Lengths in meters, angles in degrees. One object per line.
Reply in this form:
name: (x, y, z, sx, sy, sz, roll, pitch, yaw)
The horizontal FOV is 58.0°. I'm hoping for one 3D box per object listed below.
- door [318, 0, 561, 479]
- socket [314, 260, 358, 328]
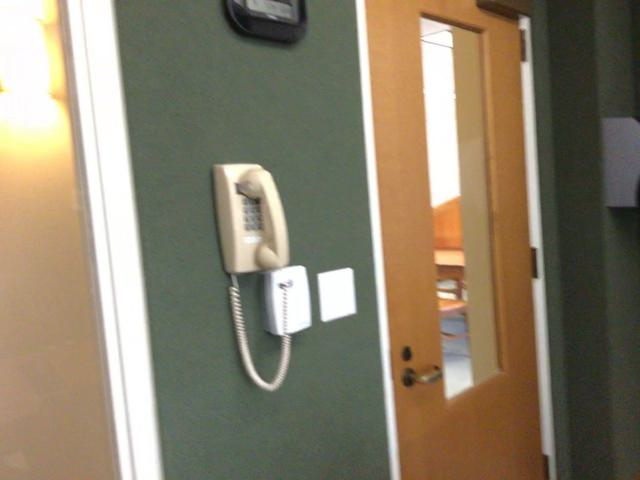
door: (0.460, 0.210, 1.880, 0.990, 2.220, 0.160, -5, 2, -45)
socket: (0.040, 0.130, 1.420, 0.020, 0.150, 0.130, -2, 2, 42)
